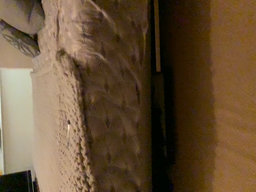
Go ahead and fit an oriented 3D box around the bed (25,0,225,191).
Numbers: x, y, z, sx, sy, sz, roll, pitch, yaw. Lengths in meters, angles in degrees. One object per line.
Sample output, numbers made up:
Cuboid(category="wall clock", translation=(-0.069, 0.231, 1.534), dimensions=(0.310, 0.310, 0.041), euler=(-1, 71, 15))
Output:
Cuboid(category="bed", translation=(-0.360, -0.280, 1.620), dimensions=(2.030, 0.600, 2.120), euler=(2, 94, 61))
